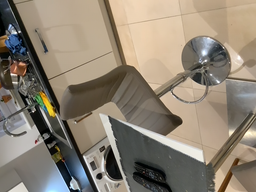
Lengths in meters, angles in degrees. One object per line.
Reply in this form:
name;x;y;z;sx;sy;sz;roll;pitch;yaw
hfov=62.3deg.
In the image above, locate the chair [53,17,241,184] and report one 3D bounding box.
chair;0.160;-0.040;1.310;0.490;1.060;0.370;51;146;10
